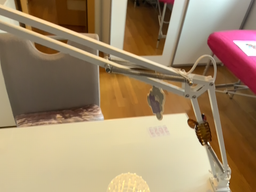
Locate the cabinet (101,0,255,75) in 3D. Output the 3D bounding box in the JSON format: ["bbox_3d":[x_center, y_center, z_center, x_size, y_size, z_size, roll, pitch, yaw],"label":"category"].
[{"bbox_3d":[0.560,-1.340,2.100,1.530,2.190,0.650,-4,41,-13],"label":"cabinet"}]
